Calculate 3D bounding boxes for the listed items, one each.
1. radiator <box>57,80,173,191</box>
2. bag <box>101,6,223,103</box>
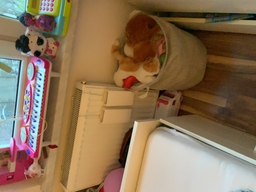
[{"bbox_3d":[-0.040,0.250,1.350,0.110,0.710,0.650,25,107,42],"label":"radiator"},{"bbox_3d":[0.210,-0.220,1.250,0.360,0.550,0.410,26,108,41],"label":"bag"}]
